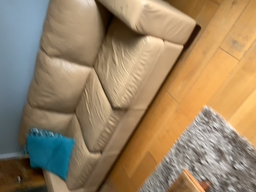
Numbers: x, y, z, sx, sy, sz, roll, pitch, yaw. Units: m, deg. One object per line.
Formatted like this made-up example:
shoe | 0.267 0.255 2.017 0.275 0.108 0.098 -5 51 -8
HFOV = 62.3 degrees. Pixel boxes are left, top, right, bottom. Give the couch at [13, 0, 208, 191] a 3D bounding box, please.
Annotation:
couch | -0.430 0.050 2.070 0.950 0.820 2.210 52 127 37
